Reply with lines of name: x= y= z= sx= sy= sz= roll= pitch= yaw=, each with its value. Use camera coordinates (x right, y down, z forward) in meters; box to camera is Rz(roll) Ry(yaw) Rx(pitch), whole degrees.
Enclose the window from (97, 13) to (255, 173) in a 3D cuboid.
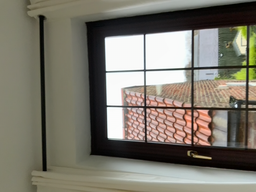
window: x=0.490 y=-0.010 z=1.490 sx=0.060 sy=1.500 sz=1.020 roll=-18 pitch=-73 yaw=-71
